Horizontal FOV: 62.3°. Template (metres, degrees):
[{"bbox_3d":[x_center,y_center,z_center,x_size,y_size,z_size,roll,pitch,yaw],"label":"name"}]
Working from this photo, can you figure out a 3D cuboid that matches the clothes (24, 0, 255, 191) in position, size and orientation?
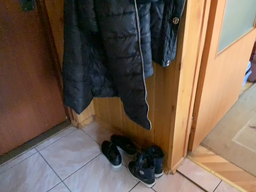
[{"bbox_3d":[-0.040,-0.390,0.710,0.370,1.300,0.820,-28,42,-32],"label":"clothes"}]
